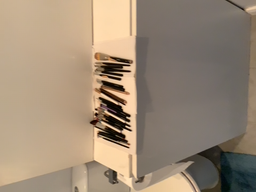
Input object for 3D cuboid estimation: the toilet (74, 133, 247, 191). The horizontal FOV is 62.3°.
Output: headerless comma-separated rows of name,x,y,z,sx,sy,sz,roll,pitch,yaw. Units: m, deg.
toilet,0.180,0.570,1.260,0.690,0.740,0.450,6,97,48
